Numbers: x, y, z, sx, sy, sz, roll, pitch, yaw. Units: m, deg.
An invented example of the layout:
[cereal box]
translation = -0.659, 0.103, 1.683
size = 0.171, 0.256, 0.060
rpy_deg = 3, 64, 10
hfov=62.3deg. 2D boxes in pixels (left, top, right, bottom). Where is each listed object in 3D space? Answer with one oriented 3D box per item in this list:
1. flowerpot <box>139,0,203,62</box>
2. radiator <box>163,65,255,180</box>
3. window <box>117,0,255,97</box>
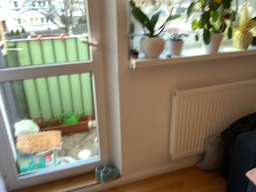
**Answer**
[flowerpot]
translation = 0.280, -0.530, 1.480
size = 0.290, 0.490, 0.320
rpy_deg = -10, 25, -20
[radiator]
translation = 0.900, 0.200, 1.890
size = 1.130, 0.850, 0.250
rpy_deg = -8, 25, -16
[window]
translation = 0.700, -0.760, 1.430
size = 1.580, 1.360, 0.140
rpy_deg = -9, 25, -18
